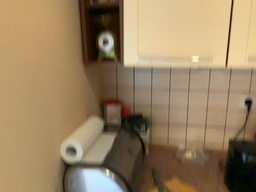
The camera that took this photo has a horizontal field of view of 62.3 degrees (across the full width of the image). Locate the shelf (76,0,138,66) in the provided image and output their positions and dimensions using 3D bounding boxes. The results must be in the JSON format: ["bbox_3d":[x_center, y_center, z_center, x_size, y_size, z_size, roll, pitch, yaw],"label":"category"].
[{"bbox_3d":[-0.080,-0.530,0.970,0.210,0.750,0.310,3,14,11],"label":"shelf"}]
